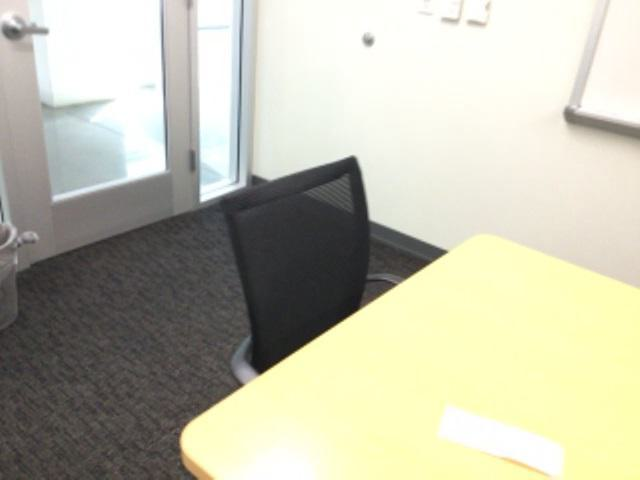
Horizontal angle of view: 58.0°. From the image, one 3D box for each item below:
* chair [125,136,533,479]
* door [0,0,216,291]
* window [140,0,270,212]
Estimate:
[{"bbox_3d":[-0.010,0.320,1.310,0.540,0.910,0.580,26,32,34],"label":"chair"},{"bbox_3d":[-0.880,-1.280,2.090,0.240,2.900,1.120,25,32,33],"label":"door"},{"bbox_3d":[-0.580,-0.920,2.940,0.320,1.450,0.540,26,32,34],"label":"window"}]
